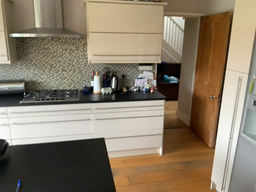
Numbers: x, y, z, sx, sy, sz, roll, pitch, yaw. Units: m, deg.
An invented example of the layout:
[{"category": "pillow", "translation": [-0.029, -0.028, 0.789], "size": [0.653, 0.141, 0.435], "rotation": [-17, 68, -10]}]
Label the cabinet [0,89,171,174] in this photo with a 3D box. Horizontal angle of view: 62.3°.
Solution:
[{"category": "cabinet", "translation": [-0.950, 0.430, 2.900], "size": [2.930, 0.900, 0.610], "rotation": [-1, 16, -10]}]

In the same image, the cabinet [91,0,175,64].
[{"category": "cabinet", "translation": [0.040, -0.860, 2.850], "size": [1.040, 0.800, 0.340], "rotation": [-1, 16, -10]}]
